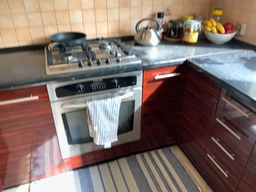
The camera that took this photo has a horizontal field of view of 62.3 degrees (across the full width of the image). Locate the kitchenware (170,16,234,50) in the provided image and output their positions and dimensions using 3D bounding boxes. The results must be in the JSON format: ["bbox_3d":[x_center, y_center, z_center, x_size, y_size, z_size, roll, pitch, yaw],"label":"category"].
[{"bbox_3d":[0.600,-0.540,1.790,0.390,0.190,0.320,-4,31,-6],"label":"kitchenware"}]

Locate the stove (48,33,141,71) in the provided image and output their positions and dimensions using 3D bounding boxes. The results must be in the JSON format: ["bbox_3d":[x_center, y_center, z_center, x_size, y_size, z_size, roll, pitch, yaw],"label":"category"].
[{"bbox_3d":[-0.270,-0.340,1.510,0.560,0.040,0.540,-10,32,-16],"label":"stove"}]
